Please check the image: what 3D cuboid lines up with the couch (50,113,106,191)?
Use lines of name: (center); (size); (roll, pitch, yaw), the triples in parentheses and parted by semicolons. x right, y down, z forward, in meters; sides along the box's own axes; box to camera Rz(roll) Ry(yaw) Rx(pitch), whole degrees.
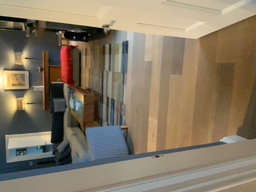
couch: (-1.520, 1.430, 5.640); (3.370, 0.670, 1.070); (23, 112, 61)
